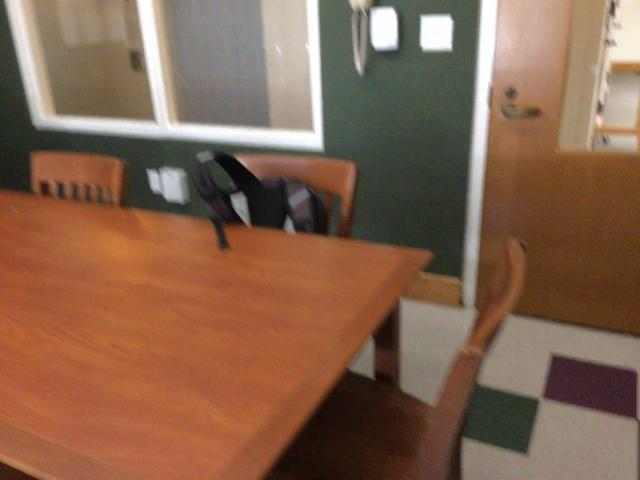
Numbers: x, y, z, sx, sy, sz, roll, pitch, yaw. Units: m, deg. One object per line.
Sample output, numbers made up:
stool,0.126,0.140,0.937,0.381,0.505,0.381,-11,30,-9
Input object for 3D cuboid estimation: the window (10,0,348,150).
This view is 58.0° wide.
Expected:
window,-0.780,-1.120,2.800,1.880,1.200,0.210,9,26,26

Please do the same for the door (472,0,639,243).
door,1.060,-0.810,1.840,1.030,1.720,0.110,9,26,26
